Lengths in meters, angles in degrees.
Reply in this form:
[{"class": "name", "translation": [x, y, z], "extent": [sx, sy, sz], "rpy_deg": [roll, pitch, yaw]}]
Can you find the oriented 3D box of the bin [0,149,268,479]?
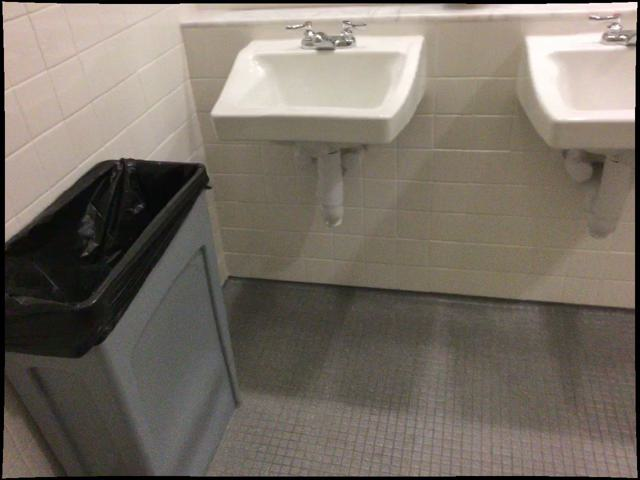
[{"class": "bin", "translation": [-0.409, 0.271, 1.410], "extent": [0.279, 0.771, 0.640], "rpy_deg": [3, 35, 14]}]
